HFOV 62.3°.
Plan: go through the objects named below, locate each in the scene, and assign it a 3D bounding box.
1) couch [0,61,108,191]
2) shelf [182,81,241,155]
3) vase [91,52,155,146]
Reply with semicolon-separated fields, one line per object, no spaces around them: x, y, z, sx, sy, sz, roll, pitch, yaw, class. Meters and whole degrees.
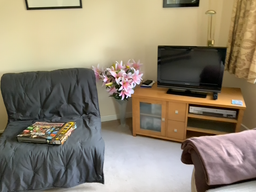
-0.750;0.210;2.170;0.920;0.800;1.100;-6;25;-10;couch
0.930;0.210;2.400;0.490;0.540;0.610;8;26;20;shelf
-0.070;0.020;2.550;0.620;0.940;0.500;-7;25;-12;vase
